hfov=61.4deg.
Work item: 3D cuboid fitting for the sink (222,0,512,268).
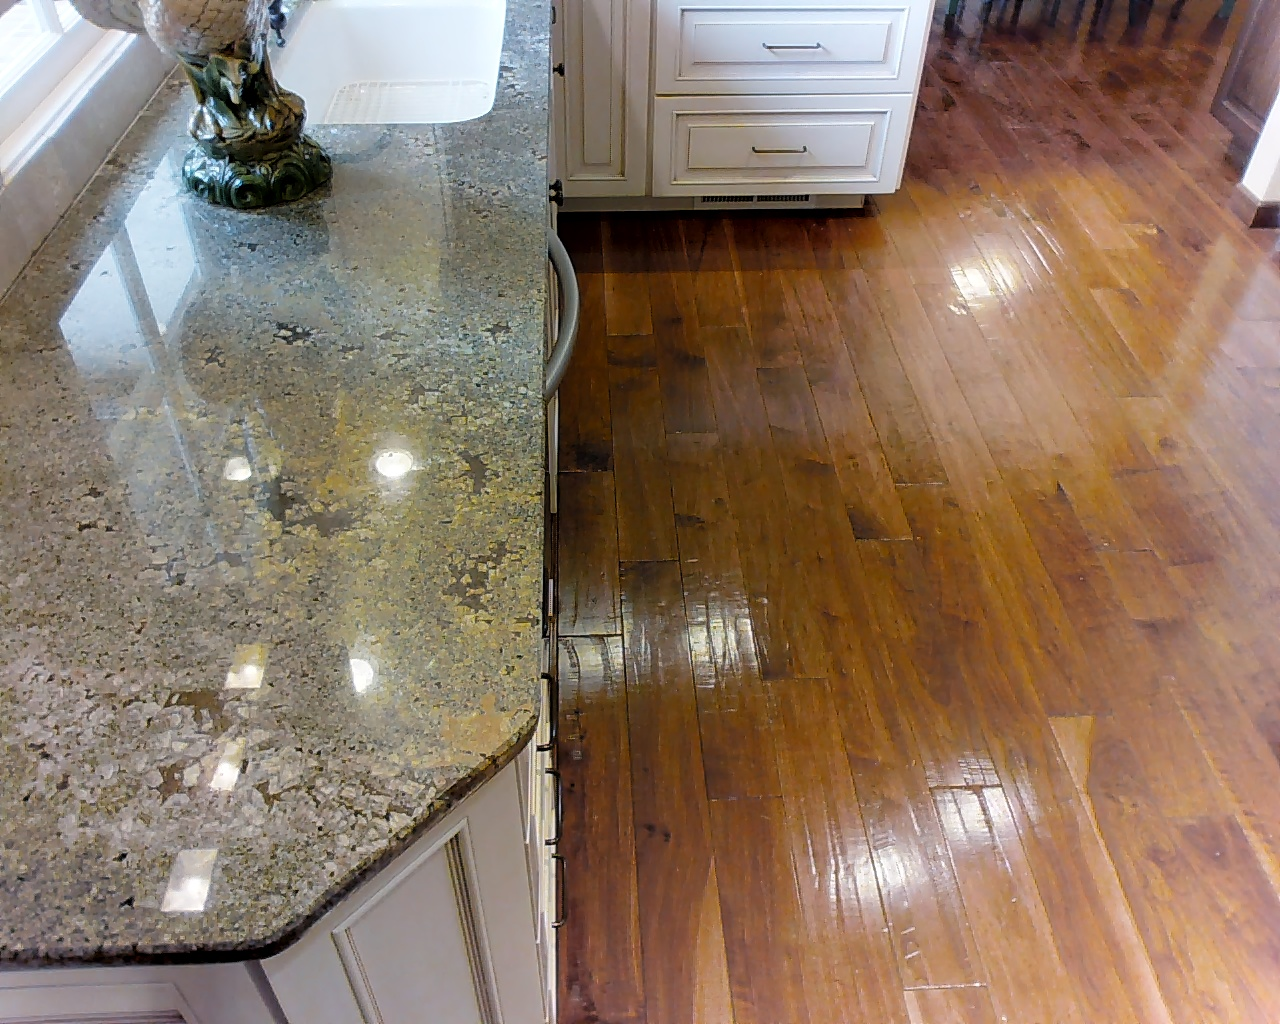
[{"bbox_3d":[-0.460,-0.760,2.010,0.400,0.260,0.740,-2,42,-3],"label":"sink"}]
